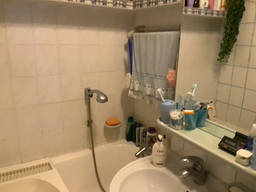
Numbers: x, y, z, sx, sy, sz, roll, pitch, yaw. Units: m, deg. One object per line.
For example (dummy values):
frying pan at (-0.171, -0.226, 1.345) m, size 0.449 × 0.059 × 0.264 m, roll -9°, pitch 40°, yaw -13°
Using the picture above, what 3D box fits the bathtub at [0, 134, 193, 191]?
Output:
bathtub at (-0.340, 0.800, 1.390) m, size 1.380 × 0.610 × 0.680 m, roll -8°, pitch 18°, yaw -33°

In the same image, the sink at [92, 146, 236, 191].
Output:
sink at (0.180, 0.490, 0.950) m, size 0.460 × 0.180 × 0.600 m, roll -8°, pitch 18°, yaw -33°

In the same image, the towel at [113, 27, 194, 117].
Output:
towel at (0.130, -0.200, 1.490) m, size 0.170 × 0.520 × 0.600 m, roll -9°, pitch 18°, yaw -36°
